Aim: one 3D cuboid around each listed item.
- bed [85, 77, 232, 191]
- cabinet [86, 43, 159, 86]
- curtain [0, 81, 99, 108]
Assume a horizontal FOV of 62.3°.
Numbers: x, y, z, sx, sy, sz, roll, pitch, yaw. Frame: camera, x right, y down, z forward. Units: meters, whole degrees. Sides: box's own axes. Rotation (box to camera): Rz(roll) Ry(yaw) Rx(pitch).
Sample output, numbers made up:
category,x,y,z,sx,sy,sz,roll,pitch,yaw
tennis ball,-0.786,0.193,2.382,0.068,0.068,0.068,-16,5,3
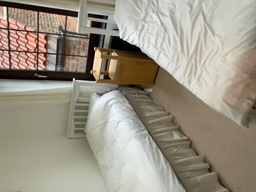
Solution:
category,x,y,z,sx,sy,sz,roll,pitch,yaw
bed,0.080,0.700,2.570,2.050,0.680,1.010,-124,42,-52
cabinet,-0.080,-0.410,2.800,0.390,0.820,0.370,-124,42,-52
curtain,-1.310,-0.010,2.740,0.090,1.860,0.320,-125,43,-52
